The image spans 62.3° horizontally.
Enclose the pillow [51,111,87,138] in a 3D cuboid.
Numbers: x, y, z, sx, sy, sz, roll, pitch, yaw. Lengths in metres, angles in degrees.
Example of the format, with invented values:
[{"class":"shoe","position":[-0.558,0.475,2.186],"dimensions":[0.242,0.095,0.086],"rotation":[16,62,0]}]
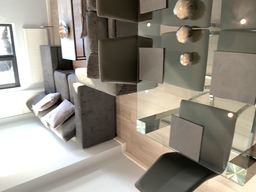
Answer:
[{"class":"pillow","position":[-0.920,0.440,3.400],"dimensions":[0.490,0.480,0.220],"rotation":[-119,27,-72]}]

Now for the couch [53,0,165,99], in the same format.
[{"class":"couch","position":[-0.250,-0.960,2.440],"dimensions":[1.040,0.830,1.670],"rotation":[20,116,49]}]

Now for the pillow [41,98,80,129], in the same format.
[{"class":"pillow","position":[-1.120,0.280,3.620],"dimensions":[0.550,0.550,0.310],"rotation":[-122,29,-71]}]

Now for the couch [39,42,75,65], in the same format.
[{"class":"couch","position":[-1.500,-0.910,4.470],"dimensions":[0.760,0.450,0.400],"rotation":[21,116,49]}]

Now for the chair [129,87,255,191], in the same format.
[{"class":"chair","position":[0.550,0.330,1.640],"dimensions":[0.480,1.000,0.570],"rotation":[20,115,49]}]

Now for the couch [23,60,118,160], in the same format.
[{"class":"couch","position":[-1.190,0.040,4.010],"dimensions":[2.290,0.830,1.140],"rotation":[21,116,49]}]

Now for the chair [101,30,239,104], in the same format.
[{"class":"chair","position":[0.350,-0.300,1.710],"dimensions":[0.540,0.990,0.420],"rotation":[22,117,48]}]

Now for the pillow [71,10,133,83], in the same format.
[{"class":"pillow","position":[-0.250,-0.530,2.260],"dimensions":[0.310,0.580,0.700],"rotation":[-102,10,-70]}]
